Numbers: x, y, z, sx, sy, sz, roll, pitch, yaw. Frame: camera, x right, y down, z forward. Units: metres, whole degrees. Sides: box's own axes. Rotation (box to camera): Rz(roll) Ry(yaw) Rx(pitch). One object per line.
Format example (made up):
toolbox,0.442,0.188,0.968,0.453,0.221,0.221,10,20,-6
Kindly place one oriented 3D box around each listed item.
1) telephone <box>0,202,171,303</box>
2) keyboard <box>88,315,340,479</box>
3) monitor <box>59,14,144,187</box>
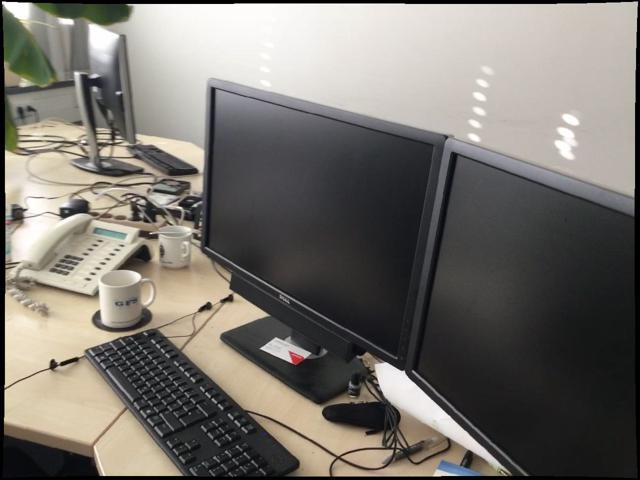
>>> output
telephone,-0.539,0.020,1.360,0.290,0.110,0.230,10,24,11
keyboard,-0.190,0.260,0.970,0.230,0.030,0.400,-17,32,-41
monitor,-0.809,-0.531,2.130,0.170,0.520,0.510,-9,27,-29
